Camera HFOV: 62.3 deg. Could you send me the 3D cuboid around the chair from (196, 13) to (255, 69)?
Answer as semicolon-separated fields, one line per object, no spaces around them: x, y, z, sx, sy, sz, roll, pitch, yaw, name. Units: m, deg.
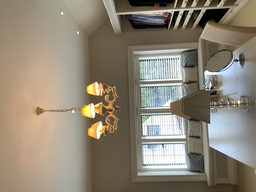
1.420;-0.650;2.580;0.450;1.020;0.490;74;-164;-77;chair
